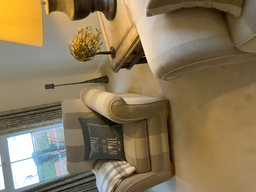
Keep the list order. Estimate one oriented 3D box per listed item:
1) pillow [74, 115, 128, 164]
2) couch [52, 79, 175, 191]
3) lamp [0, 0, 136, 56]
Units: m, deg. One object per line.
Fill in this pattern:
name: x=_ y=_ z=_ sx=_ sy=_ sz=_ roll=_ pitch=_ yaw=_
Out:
pillow: x=-0.270 y=0.450 z=2.170 sx=0.130 sy=0.420 sz=0.380 roll=-52 pitch=-58 yaw=-73
couch: x=-0.210 y=0.440 z=2.330 sx=1.030 sy=0.920 sz=1.090 roll=15 pitch=113 yaw=63
lamp: x=-0.440 y=-0.560 z=1.200 sx=0.460 sy=0.760 sz=0.450 roll=-40 pitch=63 yaw=62
